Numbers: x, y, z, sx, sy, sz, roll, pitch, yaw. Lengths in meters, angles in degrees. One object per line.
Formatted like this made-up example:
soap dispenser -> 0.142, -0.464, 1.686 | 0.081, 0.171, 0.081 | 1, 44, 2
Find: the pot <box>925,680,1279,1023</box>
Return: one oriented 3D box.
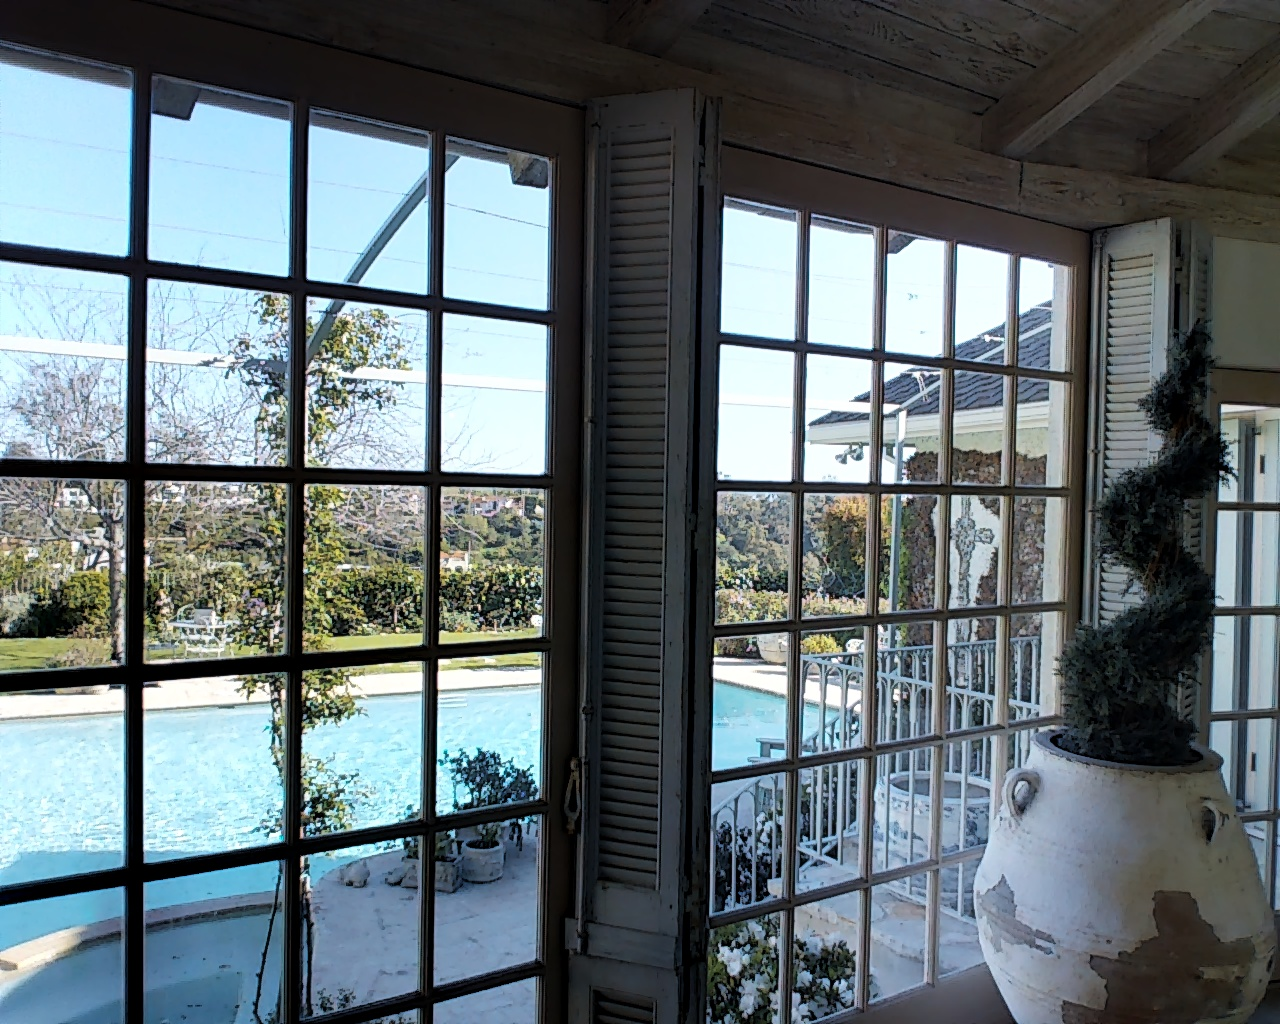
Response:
pot -> 1.300, 1.050, 2.830 | 0.770, 1.050, 0.710 | 0, 1, -32
